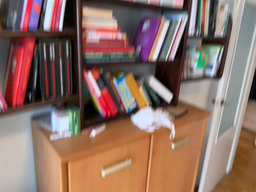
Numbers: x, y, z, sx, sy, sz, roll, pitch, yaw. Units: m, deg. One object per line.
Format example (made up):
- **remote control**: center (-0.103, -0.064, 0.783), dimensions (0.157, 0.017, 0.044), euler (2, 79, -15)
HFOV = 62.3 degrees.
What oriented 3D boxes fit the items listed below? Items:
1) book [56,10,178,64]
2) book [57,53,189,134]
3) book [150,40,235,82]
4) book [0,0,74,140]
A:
- **book**: center (-0.060, -0.300, 1.070), dimensions (0.490, 0.200, 0.340), euler (-8, 22, -33)
- **book**: center (-0.020, -0.070, 1.210), dimensions (0.630, 0.290, 0.370), euler (-11, 23, -37)
- **book**: center (0.450, -0.260, 1.450), dimensions (0.540, 0.210, 0.270), euler (-11, 23, -38)
- **book**: center (-0.490, -0.180, 0.740), dimensions (0.490, 0.590, 0.320), euler (-10, 23, -36)
